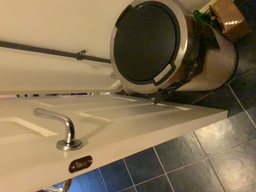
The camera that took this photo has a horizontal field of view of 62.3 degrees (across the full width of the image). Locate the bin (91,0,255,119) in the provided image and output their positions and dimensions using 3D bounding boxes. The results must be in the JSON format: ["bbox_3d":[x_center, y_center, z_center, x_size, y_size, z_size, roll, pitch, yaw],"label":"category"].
[{"bbox_3d":[0.250,-0.190,1.030,0.490,0.590,0.370,-35,70,35],"label":"bin"}]
